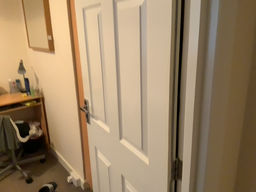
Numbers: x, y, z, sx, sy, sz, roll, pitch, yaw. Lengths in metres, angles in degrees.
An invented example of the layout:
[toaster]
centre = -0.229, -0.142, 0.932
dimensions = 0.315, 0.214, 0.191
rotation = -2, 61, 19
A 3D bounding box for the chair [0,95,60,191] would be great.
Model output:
[chair]
centre = -1.280, 0.470, 2.260
dimensions = 0.710, 0.740, 0.680
rotation = 5, 18, 22

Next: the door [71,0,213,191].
[door]
centre = -0.030, 0.130, 1.020
dimensions = 0.070, 2.020, 0.850
rotation = -13, 20, -32

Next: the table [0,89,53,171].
[table]
centre = -1.420, 0.390, 2.550
dimensions = 0.780, 0.750, 0.440
rotation = -15, 22, -37
